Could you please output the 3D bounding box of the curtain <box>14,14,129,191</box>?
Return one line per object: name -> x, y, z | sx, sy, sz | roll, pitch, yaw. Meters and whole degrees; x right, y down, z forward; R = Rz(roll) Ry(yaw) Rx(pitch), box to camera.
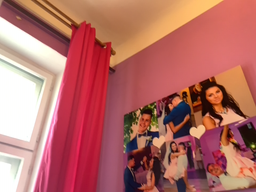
curtain -> -0.360, 0.340, 1.630 | 0.350, 2.080, 0.630 | -25, -41, 36
